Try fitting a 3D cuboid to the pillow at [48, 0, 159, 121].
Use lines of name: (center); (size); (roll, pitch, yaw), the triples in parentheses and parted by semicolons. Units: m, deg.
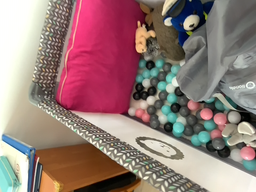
pillow: (-0.120, -0.230, 1.150); (0.300, 0.460, 0.530); (24, 122, 36)
